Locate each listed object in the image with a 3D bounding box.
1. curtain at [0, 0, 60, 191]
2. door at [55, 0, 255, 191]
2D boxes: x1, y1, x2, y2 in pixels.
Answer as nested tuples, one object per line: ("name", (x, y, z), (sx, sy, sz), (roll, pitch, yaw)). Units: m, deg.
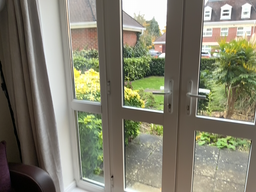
("curtain", (-0.900, -0.130, 1.700), (0.410, 2.320, 0.270), (6, 16, 26))
("door", (0.310, -0.020, 1.540), (2.020, 2.440, 0.050), (6, 16, 26))
